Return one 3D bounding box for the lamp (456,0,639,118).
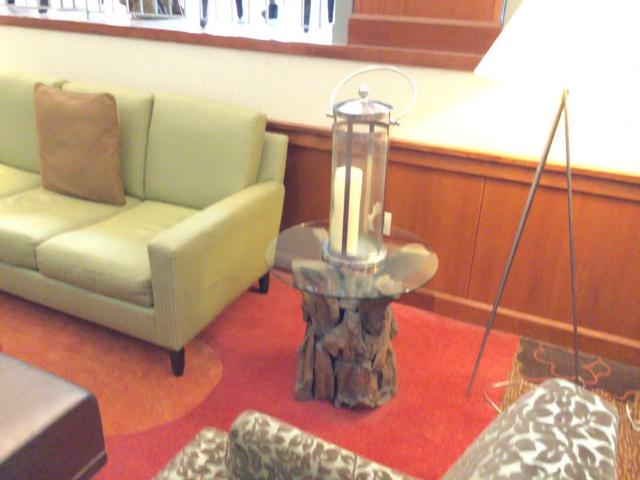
[{"bbox_3d":[0.770,-0.660,1.770,0.560,0.410,0.370,16,29,19],"label":"lamp"}]
